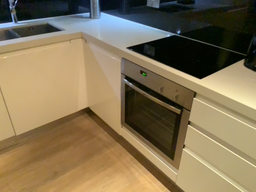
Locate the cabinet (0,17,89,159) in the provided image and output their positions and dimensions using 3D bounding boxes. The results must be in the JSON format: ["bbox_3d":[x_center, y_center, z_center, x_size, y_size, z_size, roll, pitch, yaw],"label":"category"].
[{"bbox_3d":[-1.090,-0.080,1.860,1.270,0.940,0.650,-22,38,-34],"label":"cabinet"}]
